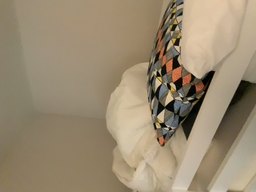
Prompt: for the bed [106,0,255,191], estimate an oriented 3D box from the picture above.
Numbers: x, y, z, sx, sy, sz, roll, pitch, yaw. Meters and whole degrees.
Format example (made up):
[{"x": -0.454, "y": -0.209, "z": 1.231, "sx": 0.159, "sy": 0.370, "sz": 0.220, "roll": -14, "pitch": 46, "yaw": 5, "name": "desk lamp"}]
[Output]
[{"x": 0.350, "y": -0.320, "z": 0.840, "sx": 1.040, "sy": 0.700, "sz": 2.140, "roll": -87, "pitch": 5, "yaw": -54, "name": "bed"}]
